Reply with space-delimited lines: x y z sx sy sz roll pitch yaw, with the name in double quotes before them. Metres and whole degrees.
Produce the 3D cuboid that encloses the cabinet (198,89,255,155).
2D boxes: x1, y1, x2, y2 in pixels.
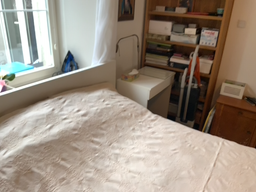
"cabinet" 1.240 0.300 2.640 0.520 0.570 0.410 18 28 30
